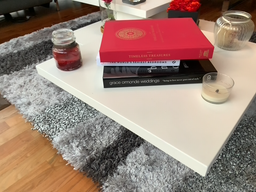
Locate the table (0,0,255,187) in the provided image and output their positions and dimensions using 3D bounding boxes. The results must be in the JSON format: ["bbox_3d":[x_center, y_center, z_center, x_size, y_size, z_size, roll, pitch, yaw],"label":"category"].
[{"bbox_3d":[0.010,-0.340,1.200,0.820,0.280,1.620,-2,38,1],"label":"table"}]
